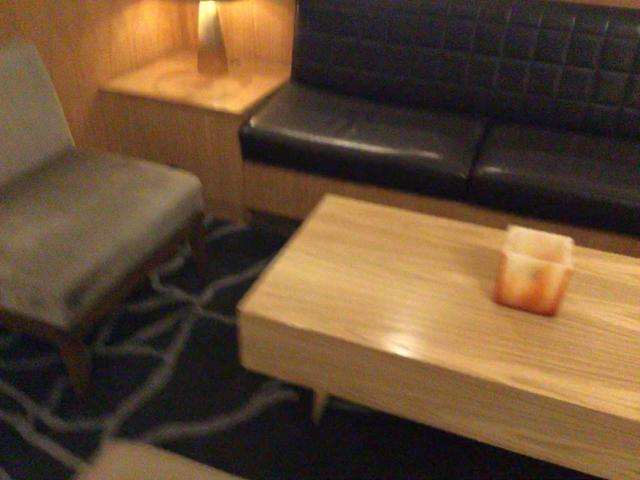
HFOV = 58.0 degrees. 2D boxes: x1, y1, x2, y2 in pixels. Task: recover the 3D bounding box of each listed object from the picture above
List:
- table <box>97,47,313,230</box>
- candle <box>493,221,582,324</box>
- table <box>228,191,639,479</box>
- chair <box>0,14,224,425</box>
[{"bbox_3d":[-0.480,-0.500,2.650,0.700,0.560,0.640,12,31,16],"label":"table"},{"bbox_3d":[0.510,0.070,1.360,0.160,0.140,0.180,12,31,16],"label":"candle"},{"bbox_3d":[0.490,0.330,1.490,1.260,0.480,0.650,12,31,16],"label":"table"},{"bbox_3d":[-0.880,-0.150,1.820,0.800,0.880,0.850,12,31,16],"label":"chair"}]
